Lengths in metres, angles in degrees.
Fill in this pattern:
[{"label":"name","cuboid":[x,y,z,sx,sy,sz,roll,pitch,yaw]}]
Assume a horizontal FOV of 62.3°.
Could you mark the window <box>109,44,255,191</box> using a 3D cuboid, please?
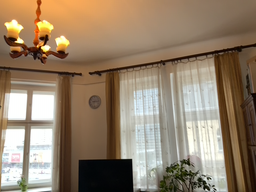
[{"label":"window","cuboid":[0.820,0.690,3.840,2.380,2.960,0.230,-6,-13,18]}]
